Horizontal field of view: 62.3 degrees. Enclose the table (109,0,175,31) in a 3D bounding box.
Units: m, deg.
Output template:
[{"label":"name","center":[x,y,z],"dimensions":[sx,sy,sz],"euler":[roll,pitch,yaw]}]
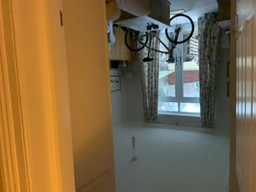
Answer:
[{"label":"table","center":[0.270,-1.370,3.370],"dimensions":[0.590,0.450,1.070],"euler":[2,-170,34]}]
